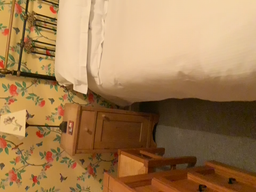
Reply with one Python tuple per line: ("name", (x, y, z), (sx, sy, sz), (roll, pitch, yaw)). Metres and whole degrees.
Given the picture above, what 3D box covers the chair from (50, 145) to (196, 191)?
("chair", (-0.020, 0.640, 1.480), (0.450, 0.900, 0.480), (-1, 83, 57))
